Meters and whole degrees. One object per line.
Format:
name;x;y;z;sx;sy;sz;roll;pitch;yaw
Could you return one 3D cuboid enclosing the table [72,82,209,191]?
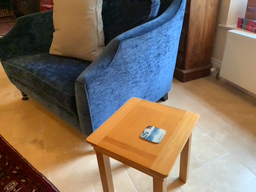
table;0.070;0.260;1.040;0.440;0.430;0.410;21;39;34
